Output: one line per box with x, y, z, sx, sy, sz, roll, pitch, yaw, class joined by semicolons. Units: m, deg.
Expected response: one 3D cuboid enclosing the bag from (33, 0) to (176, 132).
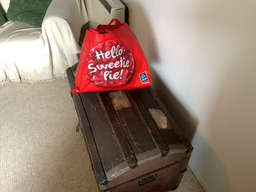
-0.150;-0.200;1.160;0.580;0.410;0.520;-13;48;-12;bag

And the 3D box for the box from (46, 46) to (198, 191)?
-0.110;0.200;1.360;0.600;0.550;0.870;-14;48;-12;box
